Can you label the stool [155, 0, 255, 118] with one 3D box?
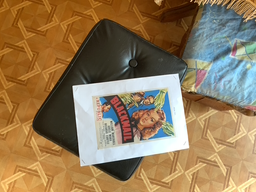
[{"bbox_3d":[0.350,-0.120,0.840,0.340,0.360,0.310,18,80,-2],"label":"stool"}]
